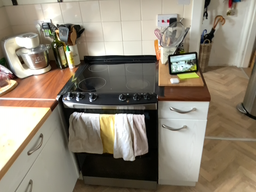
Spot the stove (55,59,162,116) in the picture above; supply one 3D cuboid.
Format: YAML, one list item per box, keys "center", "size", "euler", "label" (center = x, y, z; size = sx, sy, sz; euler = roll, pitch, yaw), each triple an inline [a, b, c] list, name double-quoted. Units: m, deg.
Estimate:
- center: [-0.080, -0.100, 1.530]
  size: [0.640, 0.090, 0.640]
  euler: [2, 32, 8]
  label: "stove"
